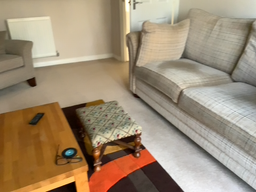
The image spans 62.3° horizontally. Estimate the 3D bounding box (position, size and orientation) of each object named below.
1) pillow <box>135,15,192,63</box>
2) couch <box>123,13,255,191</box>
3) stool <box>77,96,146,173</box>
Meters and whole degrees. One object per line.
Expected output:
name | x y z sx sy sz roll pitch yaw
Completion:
pillow | 0.370 -0.560 2.160 0.550 0.400 0.120 -3 24 -33
couch | 0.810 -0.140 1.780 0.970 0.860 2.000 -12 28 -22
stool | -0.140 0.260 1.620 0.370 0.300 0.450 -12 28 -22
